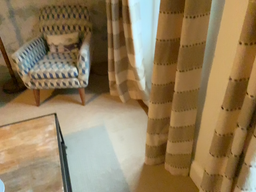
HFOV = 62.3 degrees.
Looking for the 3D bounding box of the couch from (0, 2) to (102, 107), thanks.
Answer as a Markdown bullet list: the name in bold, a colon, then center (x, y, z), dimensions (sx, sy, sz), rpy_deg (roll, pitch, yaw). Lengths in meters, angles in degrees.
- **couch**: center (-0.750, -0.500, 2.430), dimensions (0.730, 0.870, 0.900), rpy_deg (-1, 36, 1)
